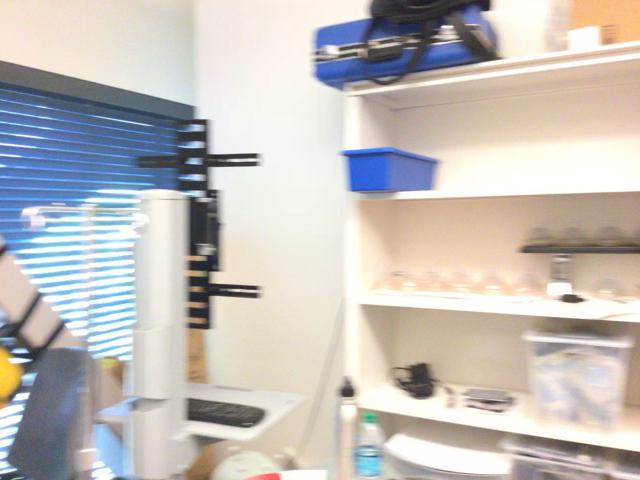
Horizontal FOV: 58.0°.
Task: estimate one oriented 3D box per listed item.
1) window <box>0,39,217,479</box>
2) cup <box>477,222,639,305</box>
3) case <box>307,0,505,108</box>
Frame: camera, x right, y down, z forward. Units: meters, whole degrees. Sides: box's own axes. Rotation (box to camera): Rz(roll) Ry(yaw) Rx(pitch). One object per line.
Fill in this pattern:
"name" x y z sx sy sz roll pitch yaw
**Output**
"window" -1.290 0.080 2.170 0.450 1.570 2.190 -3 -3 30
"cup" 0.820 0.080 1.890 0.570 0.250 0.120 -3 -3 30
"case" 0.300 -0.630 1.970 0.550 0.180 0.410 -3 -3 30
